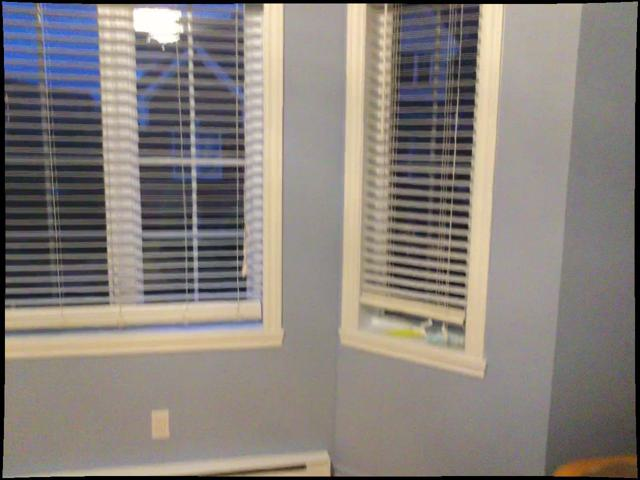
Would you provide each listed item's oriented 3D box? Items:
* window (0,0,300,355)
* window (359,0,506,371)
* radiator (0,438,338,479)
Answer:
[{"bbox_3d":[-0.769,-0.280,2.230,1.349,1.381,0.210,-2,12,-9],"label":"window"},{"bbox_3d":[0.400,-0.230,2.150,0.440,1.331,0.240,7,14,34],"label":"window"},{"bbox_3d":[-0.779,0.991,2.310,1.718,0.200,0.090,-2,12,-9],"label":"radiator"}]
